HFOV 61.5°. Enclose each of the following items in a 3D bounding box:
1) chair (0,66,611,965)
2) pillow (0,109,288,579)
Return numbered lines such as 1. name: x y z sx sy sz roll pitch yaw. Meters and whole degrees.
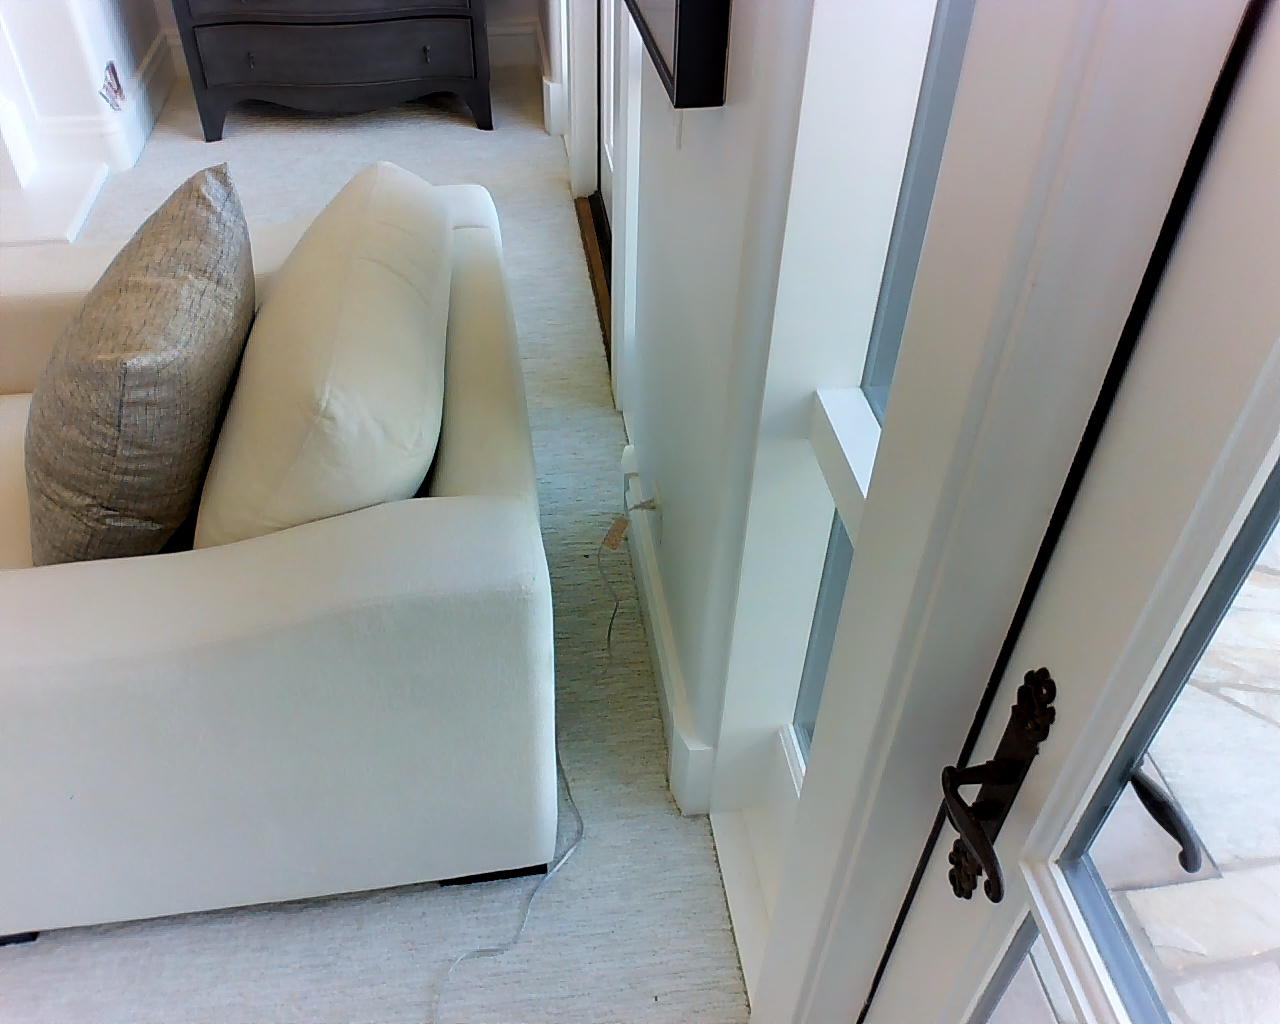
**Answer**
1. chair: -0.660 -0.050 1.790 1.090 0.910 1.120 -5 43 -7
2. pillow: -0.730 -0.220 1.620 0.270 0.490 0.540 -2 75 -6
